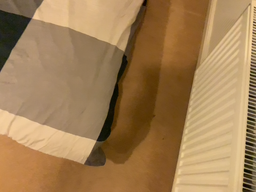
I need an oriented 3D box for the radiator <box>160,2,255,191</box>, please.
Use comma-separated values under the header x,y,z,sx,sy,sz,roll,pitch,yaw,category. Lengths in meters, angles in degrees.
x,y,z,sx,sy,sz,roll,pitch,yaw,category
0.230,0.210,0.690,0.090,0.460,0.910,17,68,0,radiator
